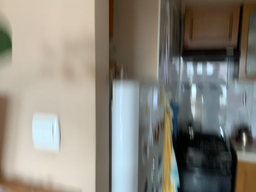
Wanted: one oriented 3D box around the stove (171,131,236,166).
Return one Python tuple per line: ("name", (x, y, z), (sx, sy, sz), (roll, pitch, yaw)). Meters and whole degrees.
("stove", (0.760, 0.510, 2.190), (0.540, 0.110, 0.590), (2, 6, 18))
